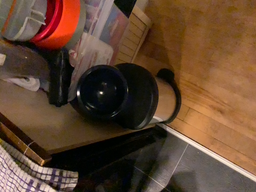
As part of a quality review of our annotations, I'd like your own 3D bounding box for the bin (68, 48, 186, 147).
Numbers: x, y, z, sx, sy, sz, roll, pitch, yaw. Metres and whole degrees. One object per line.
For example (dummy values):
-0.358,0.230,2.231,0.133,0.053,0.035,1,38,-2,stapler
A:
0.050,0.010,1.000,0.240,0.590,0.260,31,101,23,bin
